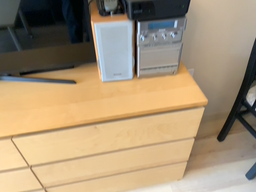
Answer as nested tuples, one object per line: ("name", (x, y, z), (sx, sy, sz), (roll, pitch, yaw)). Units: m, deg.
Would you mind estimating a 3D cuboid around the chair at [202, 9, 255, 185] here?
("chair", (0.980, 0.020, 1.290), (0.650, 0.960, 0.490), (-10, 44, -9))
